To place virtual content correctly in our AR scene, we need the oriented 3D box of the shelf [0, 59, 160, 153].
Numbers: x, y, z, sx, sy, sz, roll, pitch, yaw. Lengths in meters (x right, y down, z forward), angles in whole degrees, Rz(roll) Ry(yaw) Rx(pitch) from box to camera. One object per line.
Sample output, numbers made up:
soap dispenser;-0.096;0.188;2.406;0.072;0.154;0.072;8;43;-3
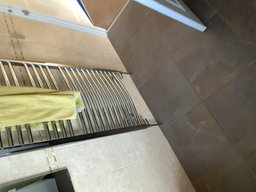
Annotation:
shelf;-0.300;0.030;1.370;0.150;1.190;0.450;-46;61;33
